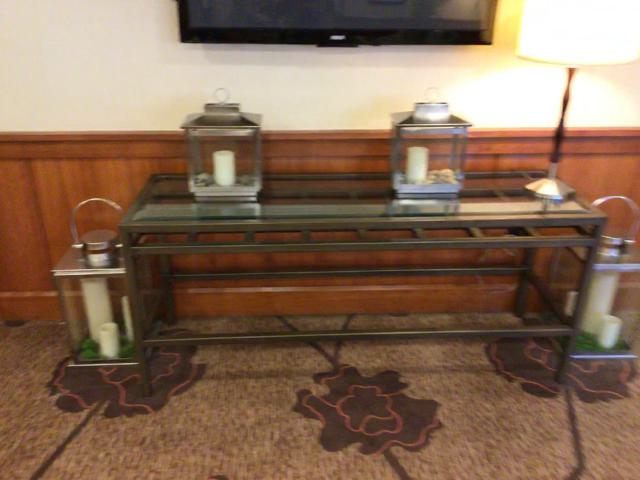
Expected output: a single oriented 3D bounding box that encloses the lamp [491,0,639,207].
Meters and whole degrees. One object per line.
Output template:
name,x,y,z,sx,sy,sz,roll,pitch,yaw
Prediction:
lamp,0.830,-0.500,1.880,0.390,0.680,0.240,-12,16,6
